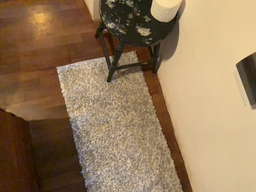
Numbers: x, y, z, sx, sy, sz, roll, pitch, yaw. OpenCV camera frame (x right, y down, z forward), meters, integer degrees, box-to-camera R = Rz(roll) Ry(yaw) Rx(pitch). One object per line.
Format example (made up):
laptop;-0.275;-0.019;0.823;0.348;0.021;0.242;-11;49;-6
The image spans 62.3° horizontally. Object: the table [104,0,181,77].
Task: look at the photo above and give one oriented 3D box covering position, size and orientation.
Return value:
table;0.040;-0.350;1.130;0.250;0.410;0.330;-12;77;-12
